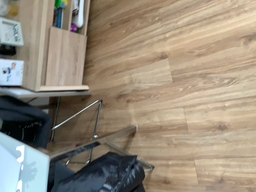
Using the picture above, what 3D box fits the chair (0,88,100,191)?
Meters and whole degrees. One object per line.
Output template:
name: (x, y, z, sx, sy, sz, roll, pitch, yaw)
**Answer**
chair: (-0.670, 0.290, 1.420, 0.450, 0.860, 0.590, 14, 100, 30)
